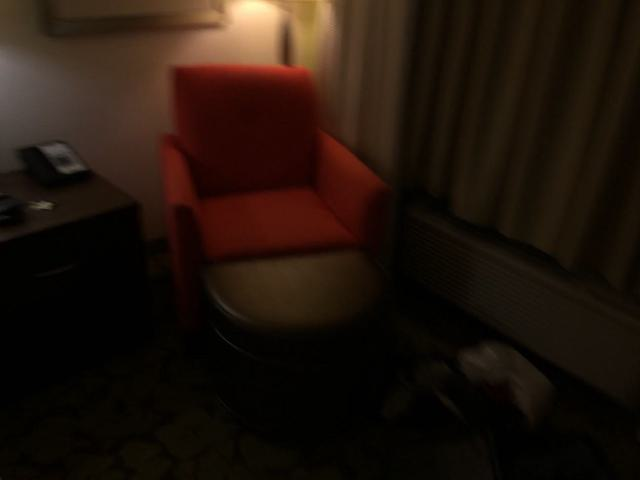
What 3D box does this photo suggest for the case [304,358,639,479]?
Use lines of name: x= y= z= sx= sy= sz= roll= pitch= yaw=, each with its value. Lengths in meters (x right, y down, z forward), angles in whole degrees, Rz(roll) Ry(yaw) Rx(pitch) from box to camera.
case: x=0.480 y=0.730 z=1.550 sx=0.780 sy=0.180 sz=0.780 roll=24 pitch=32 yaw=35

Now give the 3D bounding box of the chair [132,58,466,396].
chair: x=-0.180 y=-0.130 z=2.240 sx=0.980 sy=0.940 sz=0.900 roll=-4 pitch=27 yaw=-17
